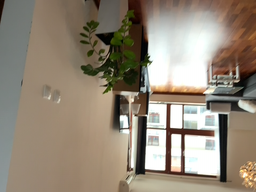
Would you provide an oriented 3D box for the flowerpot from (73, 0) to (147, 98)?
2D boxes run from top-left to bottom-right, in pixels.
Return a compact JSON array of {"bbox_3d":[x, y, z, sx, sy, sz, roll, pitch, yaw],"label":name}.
[{"bbox_3d":[-0.120,-0.540,2.200,0.480,0.990,0.730,1,169,14],"label":"flowerpot"}]

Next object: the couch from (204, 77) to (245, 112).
[{"bbox_3d":[2.320,-0.010,5.220,0.700,0.700,0.840,2,170,8],"label":"couch"}]
